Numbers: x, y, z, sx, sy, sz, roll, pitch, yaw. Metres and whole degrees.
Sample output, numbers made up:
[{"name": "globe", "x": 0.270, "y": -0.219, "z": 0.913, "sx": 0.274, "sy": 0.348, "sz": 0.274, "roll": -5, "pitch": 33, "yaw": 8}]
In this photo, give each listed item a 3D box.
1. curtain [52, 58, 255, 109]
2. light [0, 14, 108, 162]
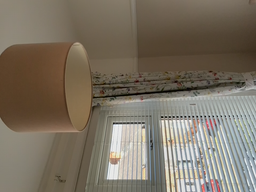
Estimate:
[{"name": "curtain", "x": 0.680, "y": -0.120, "z": 1.730, "sx": 0.360, "sy": 2.520, "sz": 0.180, "roll": -87, "pitch": -7, "yaw": -48}, {"name": "light", "x": -0.380, "y": -0.040, "z": 0.860, "sx": 0.380, "sy": 0.550, "sz": 0.420, "roll": -86, "pitch": 2, "yaw": -50}]
